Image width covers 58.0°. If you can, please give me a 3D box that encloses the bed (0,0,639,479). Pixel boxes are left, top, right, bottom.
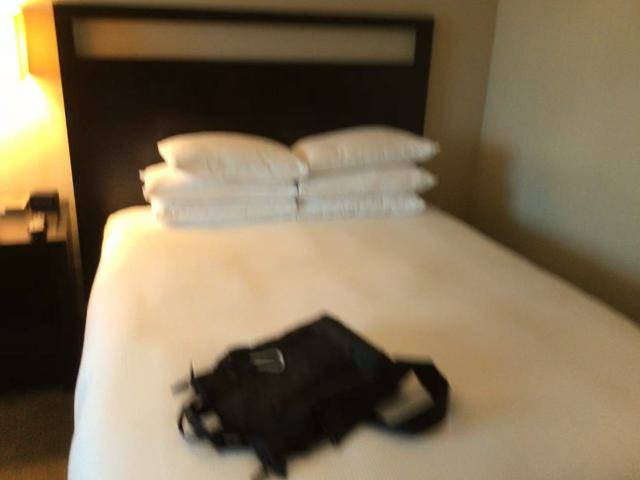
[{"bbox_3d":[0.030,0.020,1.900,1.780,1.560,2.130,-5,19,-19],"label":"bed"}]
